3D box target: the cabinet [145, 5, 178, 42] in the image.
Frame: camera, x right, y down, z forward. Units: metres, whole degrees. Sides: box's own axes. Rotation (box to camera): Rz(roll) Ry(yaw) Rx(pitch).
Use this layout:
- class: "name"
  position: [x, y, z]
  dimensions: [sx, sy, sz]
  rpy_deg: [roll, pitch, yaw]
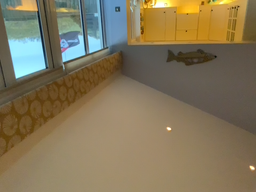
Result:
- class: "cabinet"
  position: [1.010, -2.190, 6.450]
  dimensions: [0.950, 1.020, 0.310]
  rpy_deg: [3, -159, 14]

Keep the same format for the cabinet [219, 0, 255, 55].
- class: "cabinet"
  position: [2.420, -1.590, 4.660]
  dimensions: [0.350, 1.030, 2.000]
  rpy_deg: [3, -159, 13]
